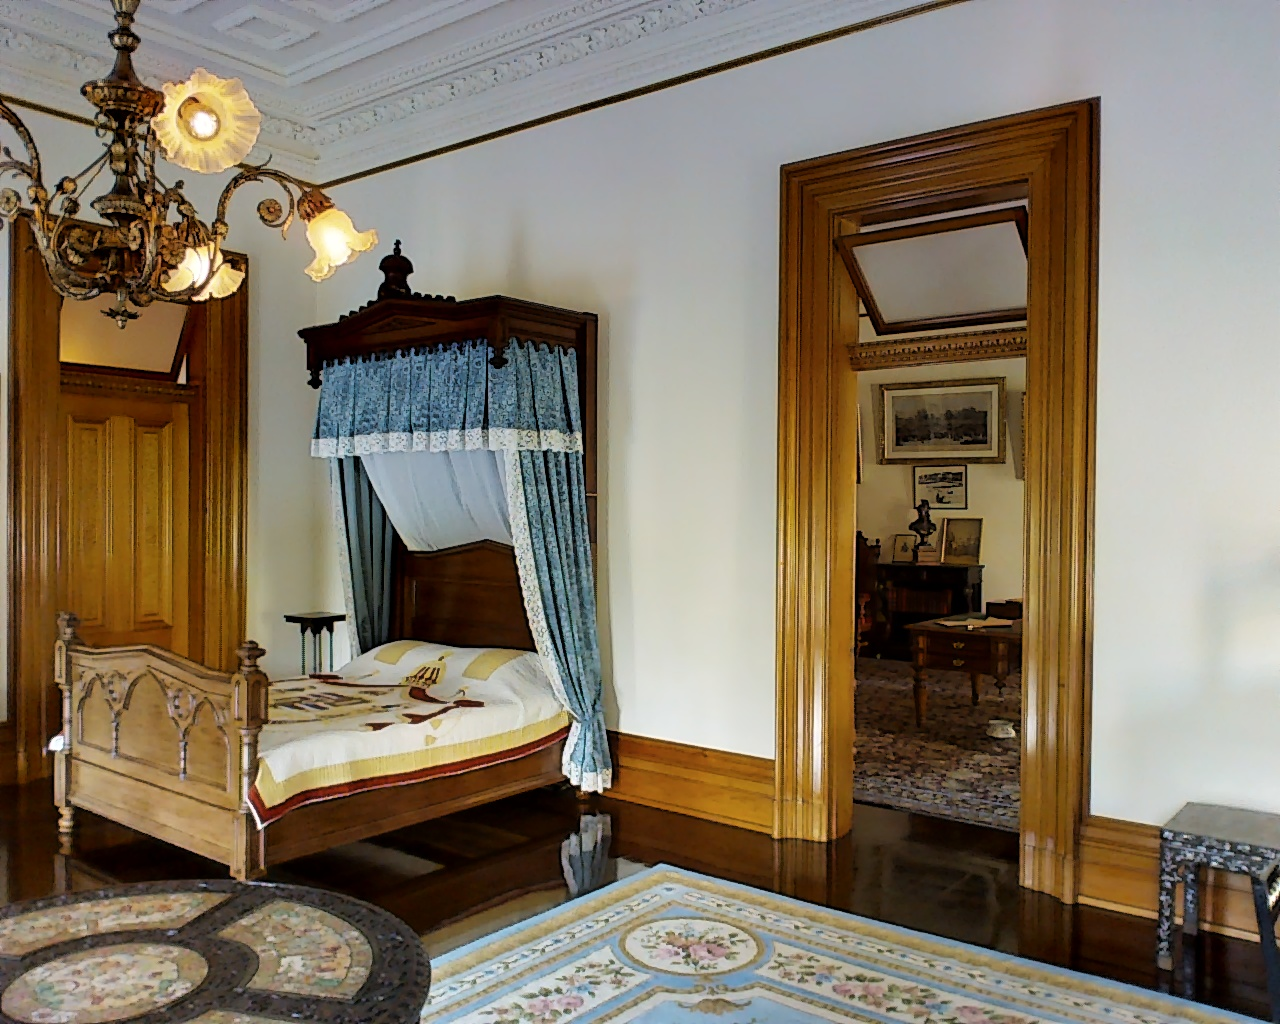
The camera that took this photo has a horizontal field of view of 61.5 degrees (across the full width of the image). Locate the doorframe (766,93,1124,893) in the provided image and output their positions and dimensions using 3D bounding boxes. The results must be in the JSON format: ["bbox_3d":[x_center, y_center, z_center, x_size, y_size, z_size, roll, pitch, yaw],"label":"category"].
[{"bbox_3d":[1.350,-0.080,4.940,1.510,3.200,0.420,1,0,39],"label":"doorframe"}]

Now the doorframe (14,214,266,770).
[{"bbox_3d":[-3.080,-0.110,6.740,0.280,3.160,1.410,0,0,40],"label":"doorframe"}]
